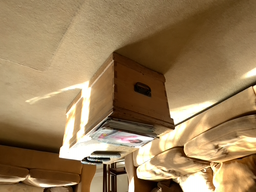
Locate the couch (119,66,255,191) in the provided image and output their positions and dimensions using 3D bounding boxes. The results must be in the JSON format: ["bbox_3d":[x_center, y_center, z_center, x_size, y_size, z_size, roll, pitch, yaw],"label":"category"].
[{"bbox_3d":[0.940,0.690,2.140,1.160,0.840,2.000,18,142,-30],"label":"couch"}]
